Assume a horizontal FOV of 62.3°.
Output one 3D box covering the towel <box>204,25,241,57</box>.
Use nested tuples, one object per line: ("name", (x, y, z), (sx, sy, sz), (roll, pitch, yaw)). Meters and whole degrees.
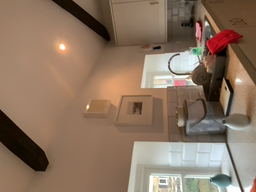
("towel", (0.690, -0.410, 1.570), (0.210, 0.190, 0.160), (-78, -16, -54))
